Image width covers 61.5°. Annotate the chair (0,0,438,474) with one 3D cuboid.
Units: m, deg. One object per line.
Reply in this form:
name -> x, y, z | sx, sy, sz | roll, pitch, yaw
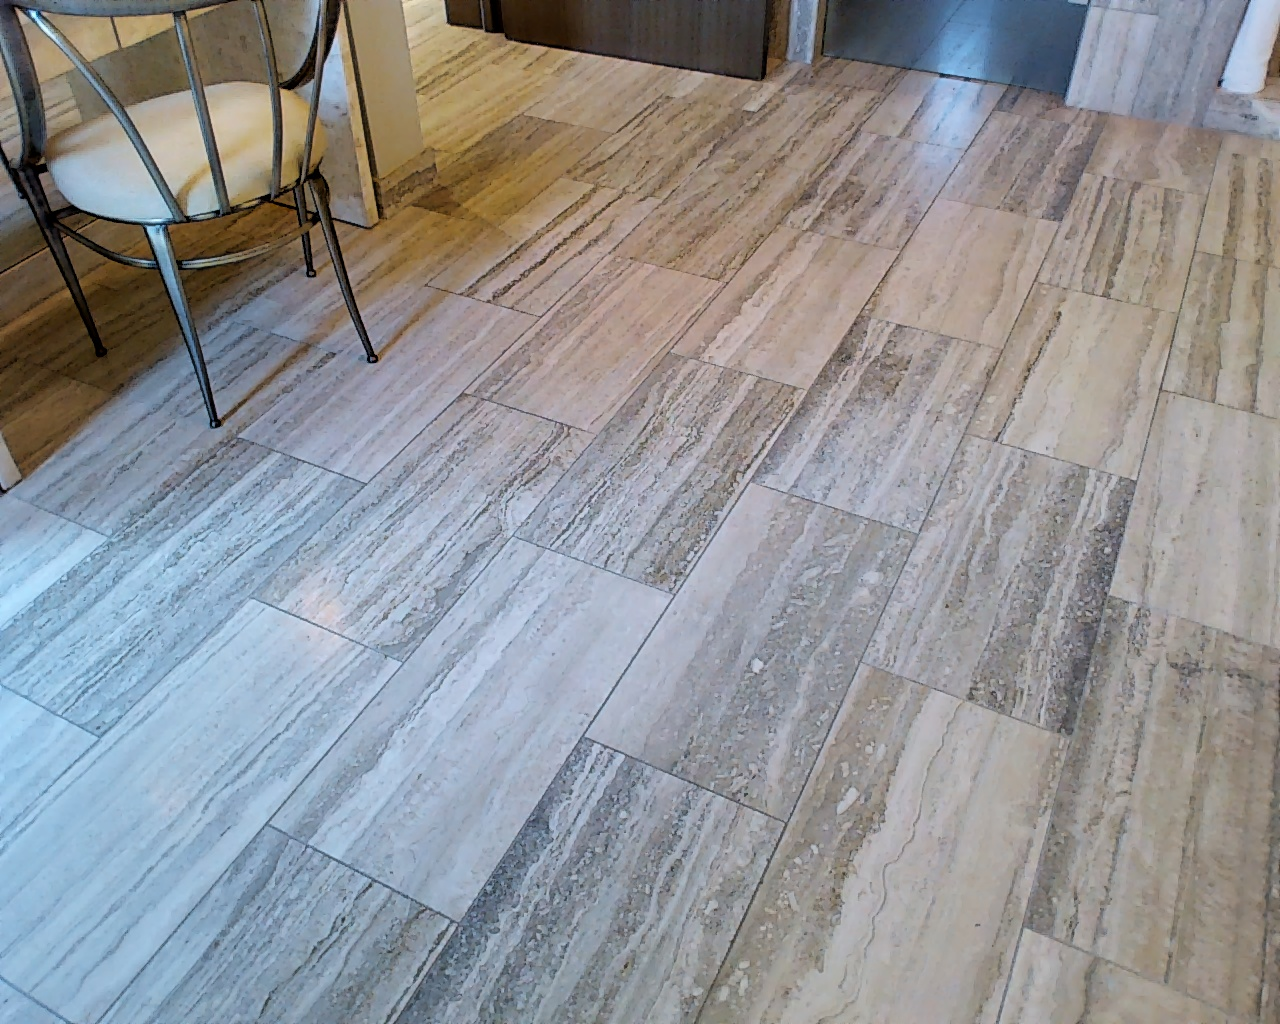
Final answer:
chair -> -0.810, -0.610, 1.980 | 0.580, 0.770, 0.500 | -32, 50, -30
